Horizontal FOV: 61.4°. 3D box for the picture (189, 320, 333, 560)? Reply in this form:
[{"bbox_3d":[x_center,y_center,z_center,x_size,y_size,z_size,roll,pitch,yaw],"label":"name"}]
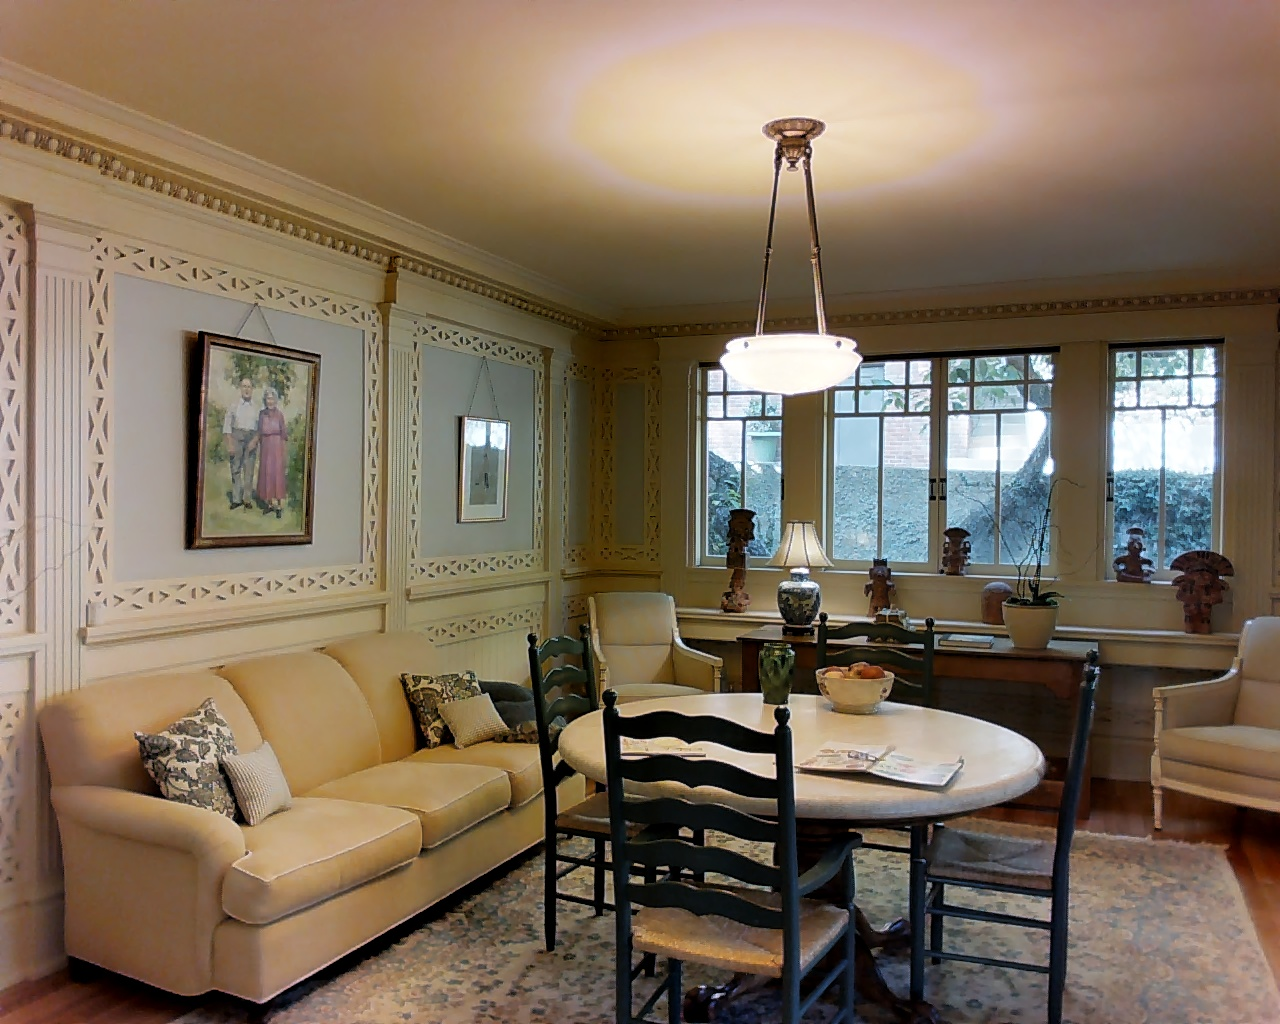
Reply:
[{"bbox_3d":[-1.510,-0.270,4.350,0.080,0.890,0.710,1,0,23],"label":"picture"}]
